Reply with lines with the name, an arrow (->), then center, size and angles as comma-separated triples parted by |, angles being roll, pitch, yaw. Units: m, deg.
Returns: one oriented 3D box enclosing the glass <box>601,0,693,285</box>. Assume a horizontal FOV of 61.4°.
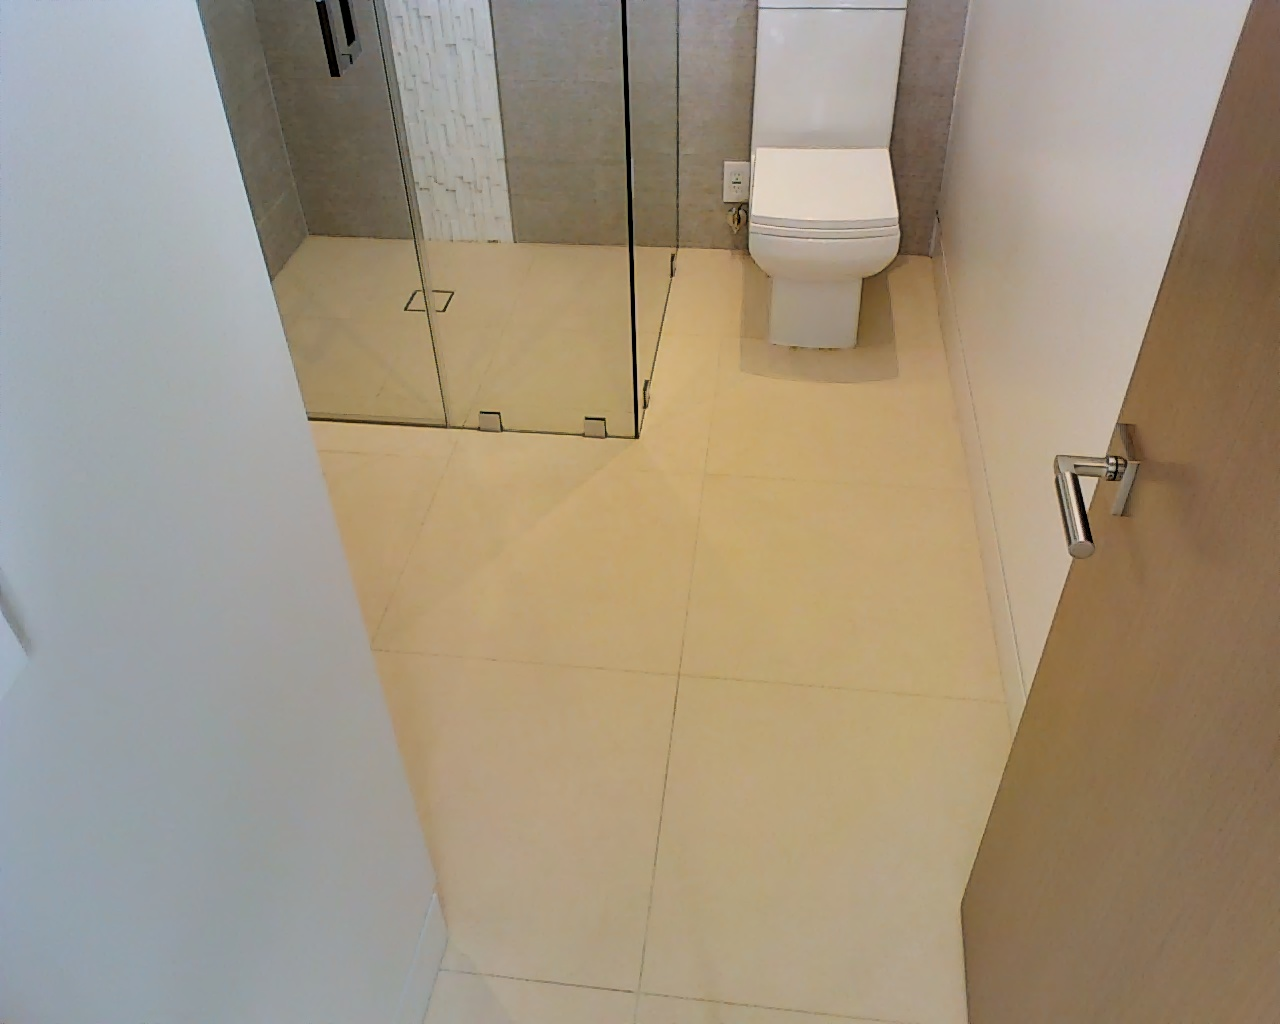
glass -> 0.010, -1.670, 2.480 | 0.210, 2.430, 0.220 | 4, 41, 7
